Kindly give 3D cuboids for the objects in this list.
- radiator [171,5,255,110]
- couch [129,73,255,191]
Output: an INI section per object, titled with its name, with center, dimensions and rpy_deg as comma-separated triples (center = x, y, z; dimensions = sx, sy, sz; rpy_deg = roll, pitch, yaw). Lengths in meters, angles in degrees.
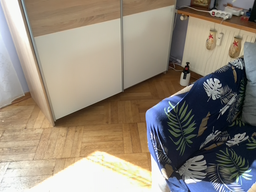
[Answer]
[radiator]
center = 0.900, -0.410, 2.160
dimensions = 0.220, 0.790, 0.860
rpy_deg = -28, 44, -33
[couch]
center = 0.550, 0.480, 1.020
dimensions = 0.540, 0.690, 1.060
rpy_deg = -25, 43, -31
